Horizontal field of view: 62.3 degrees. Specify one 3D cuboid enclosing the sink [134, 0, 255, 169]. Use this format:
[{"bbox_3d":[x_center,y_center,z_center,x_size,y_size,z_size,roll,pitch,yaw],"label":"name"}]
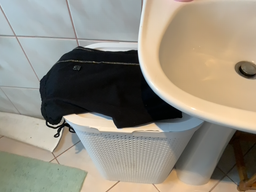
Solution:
[{"bbox_3d":[0.310,-0.080,0.480,0.570,0.190,0.430,3,52,3],"label":"sink"}]
